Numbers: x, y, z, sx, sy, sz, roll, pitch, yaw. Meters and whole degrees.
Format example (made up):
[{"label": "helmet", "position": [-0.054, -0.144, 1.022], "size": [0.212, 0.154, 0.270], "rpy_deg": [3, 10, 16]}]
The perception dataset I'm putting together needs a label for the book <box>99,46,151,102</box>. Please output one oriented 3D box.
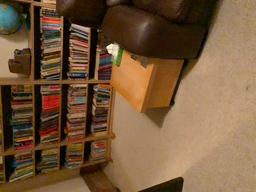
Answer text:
[{"label": "book", "position": [-0.050, -0.230, 1.930], "size": [0.070, 0.670, 0.400], "rpy_deg": [-20, -65, -28]}]
